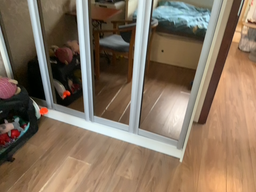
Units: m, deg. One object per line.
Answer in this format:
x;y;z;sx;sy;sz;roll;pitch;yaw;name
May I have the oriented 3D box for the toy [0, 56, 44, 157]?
-1.080;0.100;1.620;0.400;0.560;0.690;14;34;15;toy
